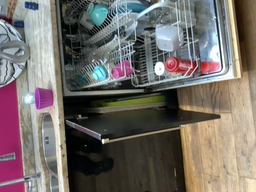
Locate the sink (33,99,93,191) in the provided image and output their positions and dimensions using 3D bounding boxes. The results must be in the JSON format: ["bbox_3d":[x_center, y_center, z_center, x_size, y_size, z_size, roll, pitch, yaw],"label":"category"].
[{"bbox_3d":[-0.410,0.260,1.260,0.490,0.170,0.430,-10,84,55],"label":"sink"}]

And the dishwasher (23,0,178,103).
[{"bbox_3d":[-0.220,-0.330,1.570,0.670,0.880,0.660,-10,84,55],"label":"dishwasher"}]
